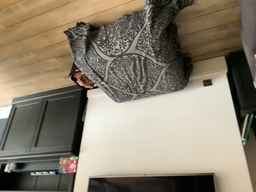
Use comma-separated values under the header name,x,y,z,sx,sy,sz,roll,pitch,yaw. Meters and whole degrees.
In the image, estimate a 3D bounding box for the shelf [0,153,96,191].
name,x,y,z,sx,sy,sz,roll,pitch,yaw
shelf,-1.150,1.470,2.520,1.370,1.390,0.410,-10,149,21

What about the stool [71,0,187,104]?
name,x,y,z,sx,sy,sz,roll,pitch,yaw
stool,0.070,-0.360,2.190,0.840,0.410,0.920,-11,148,22
